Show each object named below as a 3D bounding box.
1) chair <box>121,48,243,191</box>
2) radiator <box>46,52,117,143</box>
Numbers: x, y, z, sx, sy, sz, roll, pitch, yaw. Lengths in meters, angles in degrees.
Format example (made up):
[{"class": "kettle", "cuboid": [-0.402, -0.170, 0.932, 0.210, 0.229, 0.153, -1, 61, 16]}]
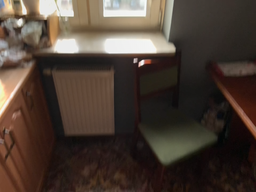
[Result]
[{"class": "chair", "cuboid": [0.300, 0.210, 1.500, 0.520, 0.880, 0.480, -22, 42, -29]}, {"class": "radiator", "cuboid": [-0.320, 0.050, 1.660, 0.450, 0.790, 0.100, -2, 36, -4]}]
